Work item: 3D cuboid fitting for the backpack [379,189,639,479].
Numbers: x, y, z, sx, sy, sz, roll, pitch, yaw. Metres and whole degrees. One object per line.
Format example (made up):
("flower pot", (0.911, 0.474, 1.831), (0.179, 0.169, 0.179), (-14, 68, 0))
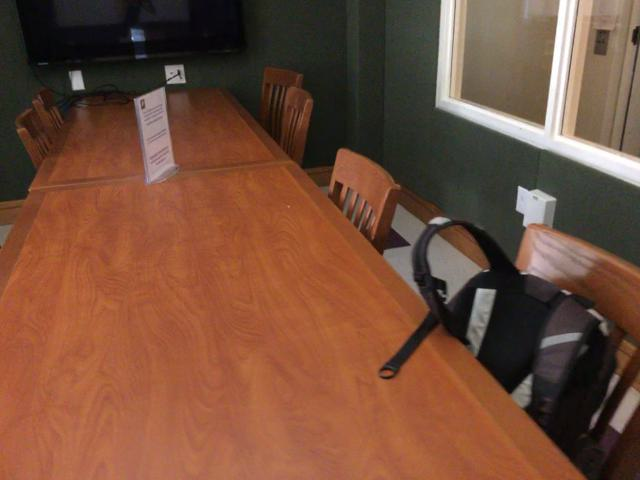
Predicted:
("backpack", (0.350, 0.230, 1.070), (0.330, 0.520, 0.380), (-13, 25, -23))

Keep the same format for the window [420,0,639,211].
("window", (0.900, -0.960, 2.110), (0.280, 1.330, 1.860), (-8, 23, -13))

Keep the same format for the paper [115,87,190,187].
("paper", (-0.570, -0.360, 2.000), (0.120, 0.290, 0.250), (1, 23, 9))
